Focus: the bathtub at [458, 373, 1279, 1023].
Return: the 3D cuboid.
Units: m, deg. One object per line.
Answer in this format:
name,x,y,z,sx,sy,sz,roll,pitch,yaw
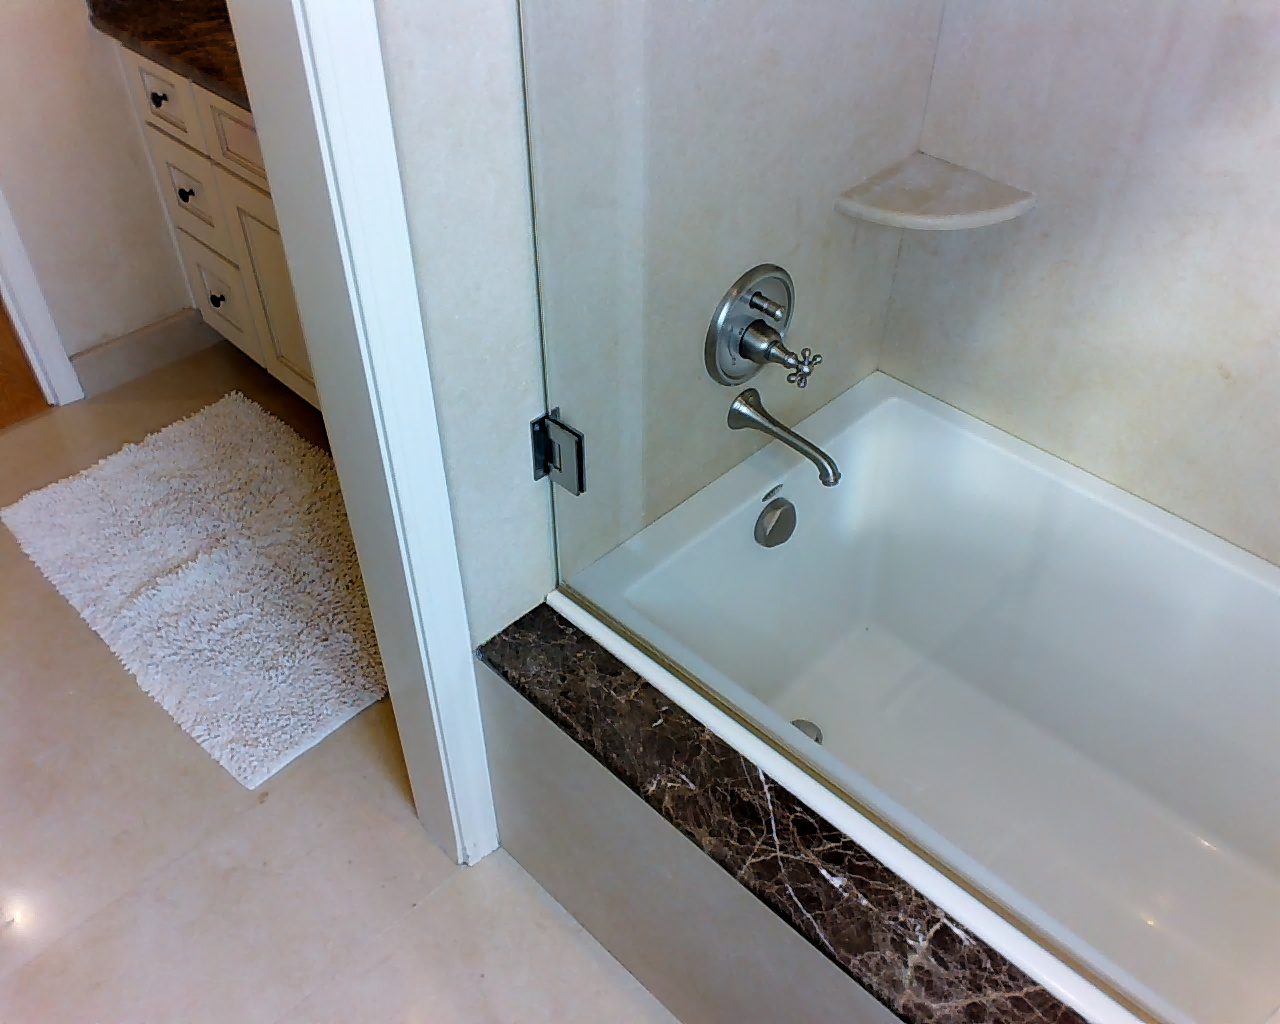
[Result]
bathtub,0.620,0.530,1.470,1.500,0.530,0.940,34,52,31
